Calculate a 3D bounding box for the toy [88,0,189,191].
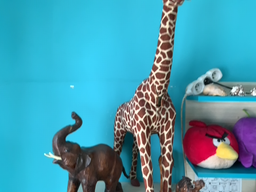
[{"bbox_3d":[0.040,0.010,0.750,0.260,0.760,0.370,1,0,5],"label":"toy"}]
